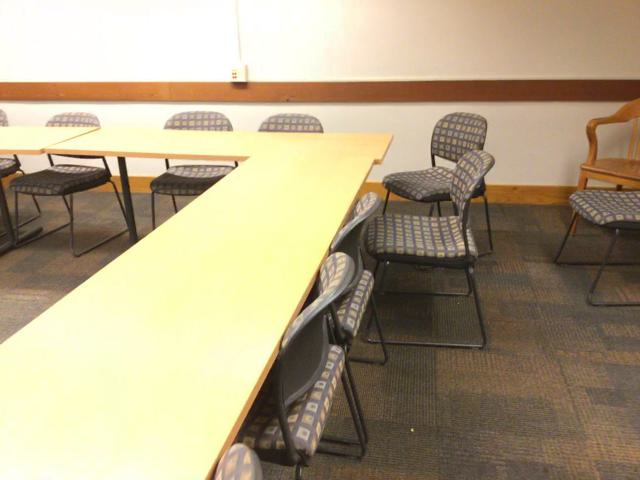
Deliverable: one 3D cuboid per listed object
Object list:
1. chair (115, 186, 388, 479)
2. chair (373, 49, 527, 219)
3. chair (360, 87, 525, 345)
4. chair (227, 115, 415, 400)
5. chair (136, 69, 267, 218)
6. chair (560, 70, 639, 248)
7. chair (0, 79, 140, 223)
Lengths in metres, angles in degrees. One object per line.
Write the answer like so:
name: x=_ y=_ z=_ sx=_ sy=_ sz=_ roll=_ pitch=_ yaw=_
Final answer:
chair: x=-0.110 y=0.290 z=1.500 sx=0.510 sy=0.720 sz=0.520 roll=3 pitch=23 yaw=10
chair: x=0.650 y=-0.590 z=3.070 sx=0.530 sy=0.750 sz=0.560 roll=-10 pitch=24 yaw=-20
chair: x=0.480 y=-0.120 z=2.430 sx=0.560 sy=0.950 sz=0.490 roll=3 pitch=23 yaw=10
chair: x=0.040 y=0.030 z=1.950 sx=0.500 sy=0.800 sz=0.500 roll=3 pitch=23 yaw=10
chair: x=-0.660 y=-0.590 z=3.420 sx=0.520 sy=0.750 sz=0.560 roll=3 pitch=23 yaw=10
chair: x=1.860 y=-0.470 z=3.250 sx=0.620 sy=0.850 sz=0.630 roll=-21 pitch=29 yaw=-39
chair: x=-1.470 y=-0.560 z=3.500 sx=0.420 sy=0.740 sz=0.570 roll=3 pitch=23 yaw=10
